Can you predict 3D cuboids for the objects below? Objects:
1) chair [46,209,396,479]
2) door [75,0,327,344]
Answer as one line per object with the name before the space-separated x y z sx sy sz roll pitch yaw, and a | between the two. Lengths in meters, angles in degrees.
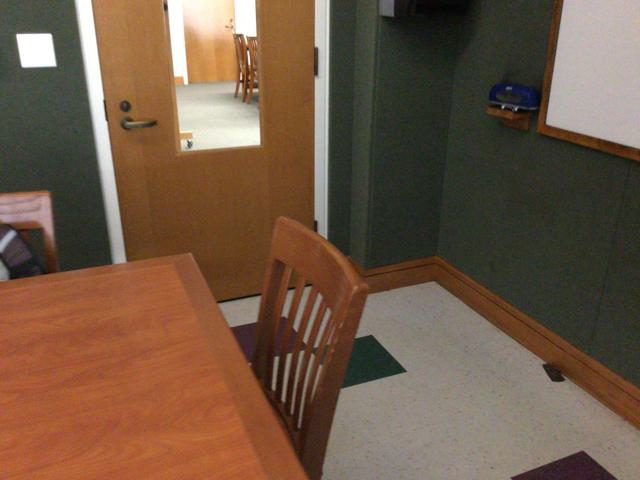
chair | -0.240 0.460 1.310 0.560 0.880 0.540 -9 23 -24
door | -0.460 -0.660 2.460 0.990 2.220 0.160 -9 23 -24
